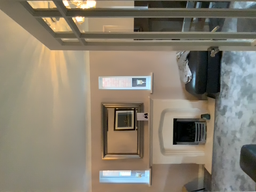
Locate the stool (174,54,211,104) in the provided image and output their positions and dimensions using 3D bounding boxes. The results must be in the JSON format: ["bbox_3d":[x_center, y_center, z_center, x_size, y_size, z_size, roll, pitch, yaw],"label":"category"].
[{"bbox_3d":[1.170,-0.320,3.930,0.600,0.460,0.850,-104,15,-83],"label":"stool"}]

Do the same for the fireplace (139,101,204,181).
[{"bbox_3d":[0.820,0.860,4.300,0.720,1.120,1.430,-104,15,-83],"label":"fireplace"}]
